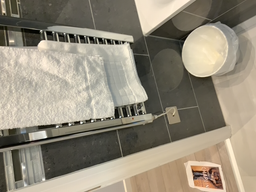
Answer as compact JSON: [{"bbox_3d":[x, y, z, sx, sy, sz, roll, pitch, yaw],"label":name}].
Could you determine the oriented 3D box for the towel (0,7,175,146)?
[{"bbox_3d":[-0.180,-0.060,0.690,0.130,0.760,0.340,-26,73,48],"label":"towel"}]

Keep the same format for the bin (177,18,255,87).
[{"bbox_3d":[0.510,-0.230,1.240,0.280,0.270,0.280,-21,77,49],"label":"bin"}]
